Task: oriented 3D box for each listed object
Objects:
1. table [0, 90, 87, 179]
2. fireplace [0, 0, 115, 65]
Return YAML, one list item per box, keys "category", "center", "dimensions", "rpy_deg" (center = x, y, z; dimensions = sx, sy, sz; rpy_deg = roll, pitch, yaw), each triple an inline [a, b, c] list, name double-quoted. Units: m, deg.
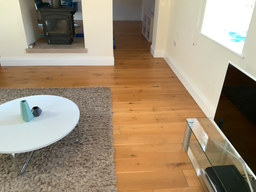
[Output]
- category: "table"
  center: [-0.930, 0.330, 2.180]
  dimensions: [0.910, 0.400, 0.920]
  rpy_deg: [0, 29, -5]
- category: "fireplace"
  center: [-1.310, -1.540, 4.150]
  dimensions: [2.070, 1.630, 0.930]
  rpy_deg: [-1, 29, -6]
